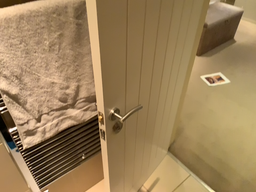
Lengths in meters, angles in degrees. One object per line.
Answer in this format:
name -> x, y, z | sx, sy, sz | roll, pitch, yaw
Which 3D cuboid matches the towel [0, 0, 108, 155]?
towel -> -0.270, -0.080, 0.790 | 0.390, 0.560, 0.090 | -30, 50, -31
